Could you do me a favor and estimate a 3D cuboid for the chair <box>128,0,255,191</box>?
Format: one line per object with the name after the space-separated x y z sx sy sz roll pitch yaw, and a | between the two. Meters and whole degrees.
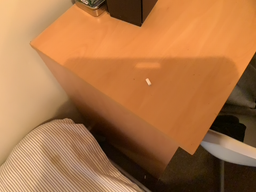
0.430 0.080 0.770 0.660 0.750 0.650 13 65 10 | chair
